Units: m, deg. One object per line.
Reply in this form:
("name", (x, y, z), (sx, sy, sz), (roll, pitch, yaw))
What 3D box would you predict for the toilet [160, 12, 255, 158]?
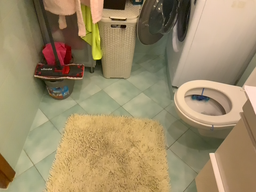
("toilet", (0.550, 0.000, 1.300), (0.540, 0.840, 0.370), (5, 48, -2))
